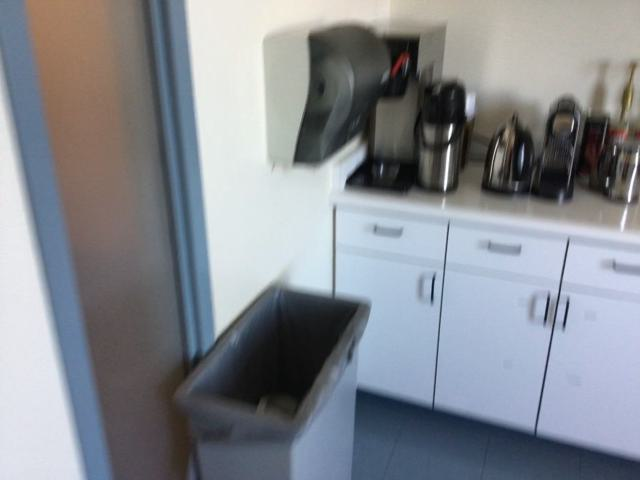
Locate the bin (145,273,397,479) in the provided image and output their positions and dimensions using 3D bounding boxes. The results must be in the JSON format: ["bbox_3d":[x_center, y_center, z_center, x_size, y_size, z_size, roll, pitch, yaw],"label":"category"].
[{"bbox_3d":[-0.070,0.570,1.460,0.340,0.780,0.510,11,27,26],"label":"bin"}]
